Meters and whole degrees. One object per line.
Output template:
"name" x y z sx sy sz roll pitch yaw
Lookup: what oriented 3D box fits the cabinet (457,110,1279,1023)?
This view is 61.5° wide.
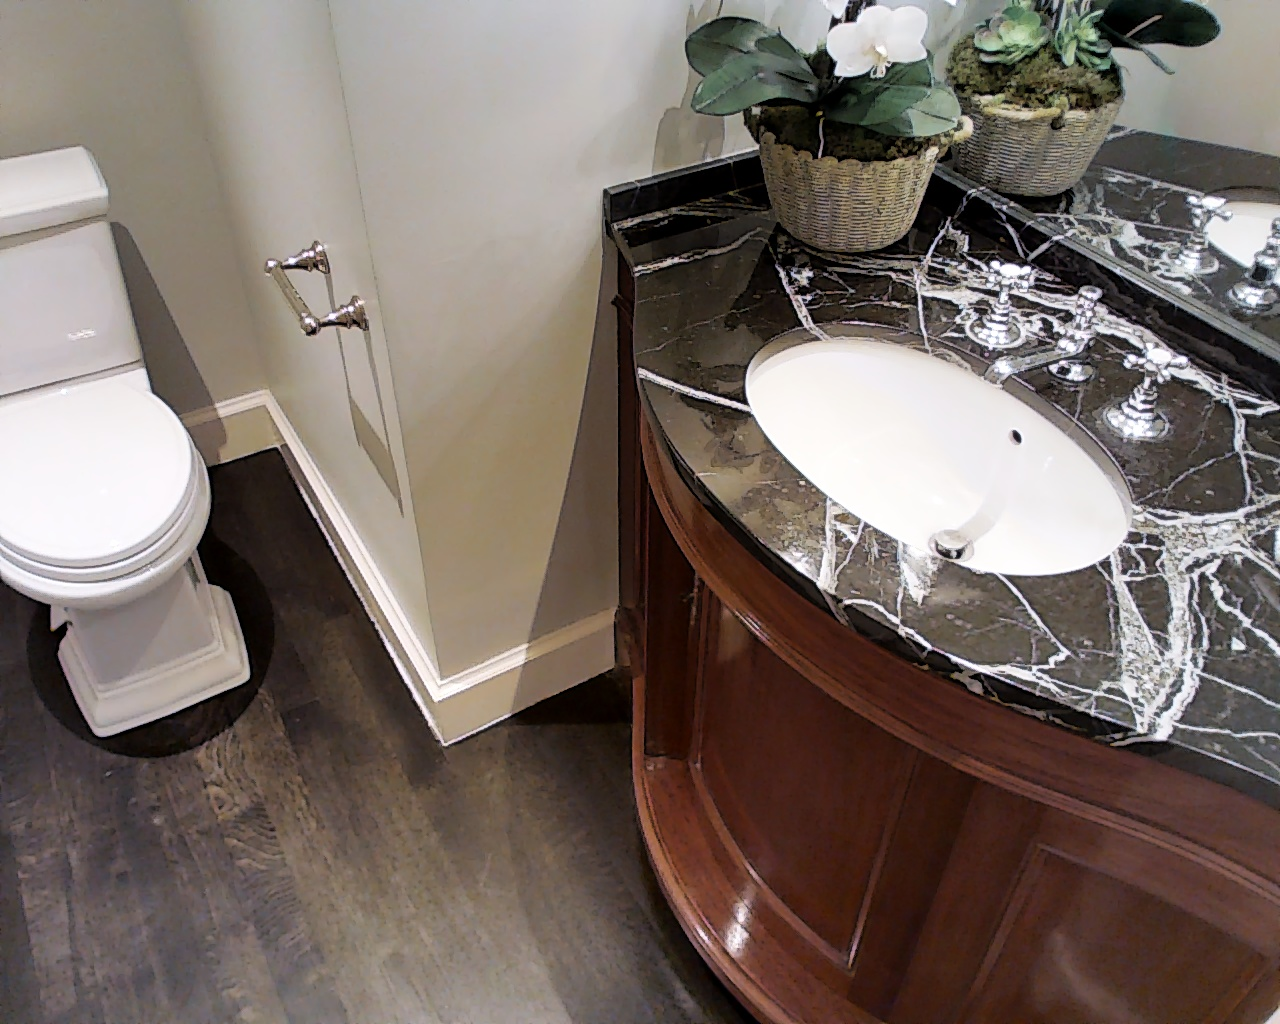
"cabinet" 0.330 0.200 1.450 0.620 0.980 1.160 -22 47 -23
